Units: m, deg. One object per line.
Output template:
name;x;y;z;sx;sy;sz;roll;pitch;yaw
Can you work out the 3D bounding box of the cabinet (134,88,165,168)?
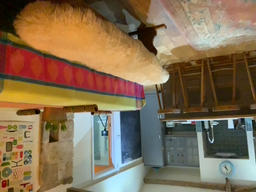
cabinet;0.670;0.960;6.580;0.680;2.270;0.670;-6;172;27
